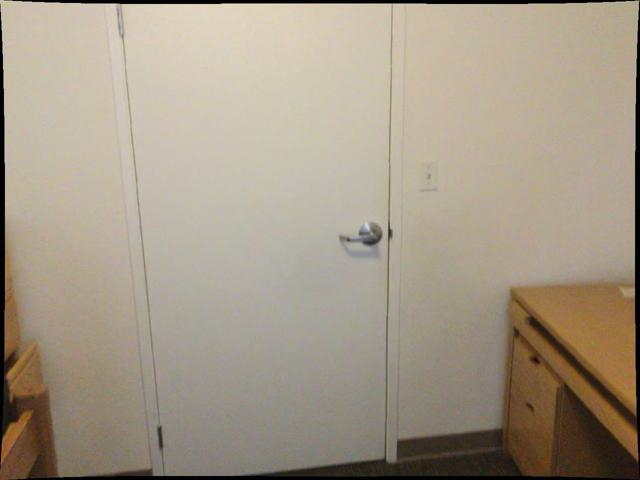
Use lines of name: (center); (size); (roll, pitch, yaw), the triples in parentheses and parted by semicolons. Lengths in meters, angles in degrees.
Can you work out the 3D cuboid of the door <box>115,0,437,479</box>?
door: (-0.170, 0.090, 2.120); (1.018, 1.823, 0.200); (0, 14, -11)
